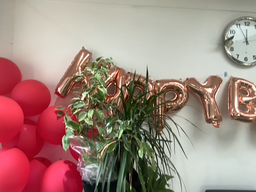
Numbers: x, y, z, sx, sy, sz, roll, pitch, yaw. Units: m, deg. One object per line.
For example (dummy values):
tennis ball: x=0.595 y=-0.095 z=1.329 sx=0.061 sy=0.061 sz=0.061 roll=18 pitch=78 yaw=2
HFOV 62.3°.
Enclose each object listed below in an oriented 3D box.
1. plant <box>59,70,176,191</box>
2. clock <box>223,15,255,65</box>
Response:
plant: x=-0.060 y=0.370 z=1.160 sx=0.520 sy=0.950 sz=0.410 roll=1 pitch=-1 yaw=-4
clock: x=0.860 y=-0.400 z=1.530 sx=0.350 sy=0.340 sz=0.020 roll=1 pitch=-1 yaw=-6
